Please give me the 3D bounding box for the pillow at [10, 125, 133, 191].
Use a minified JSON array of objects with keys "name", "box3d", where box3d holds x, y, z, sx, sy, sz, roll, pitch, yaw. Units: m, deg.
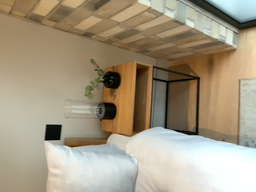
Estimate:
[{"name":"pillow","box3d":[-0.190,0.540,0.950,0.200,0.420,0.720,-7,97,52]}]
